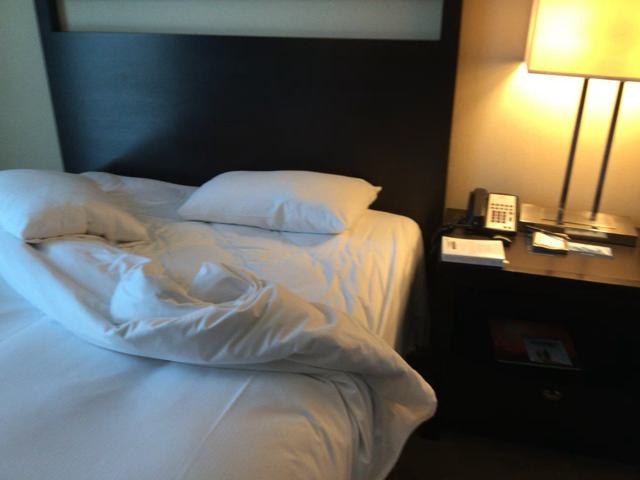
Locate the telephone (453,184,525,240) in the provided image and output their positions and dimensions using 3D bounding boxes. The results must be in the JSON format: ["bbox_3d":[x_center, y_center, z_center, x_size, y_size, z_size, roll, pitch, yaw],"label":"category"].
[{"bbox_3d":[0.570,-0.100,1.940,0.210,0.090,0.290,6,22,16],"label":"telephone"}]
